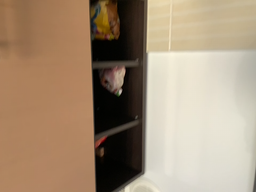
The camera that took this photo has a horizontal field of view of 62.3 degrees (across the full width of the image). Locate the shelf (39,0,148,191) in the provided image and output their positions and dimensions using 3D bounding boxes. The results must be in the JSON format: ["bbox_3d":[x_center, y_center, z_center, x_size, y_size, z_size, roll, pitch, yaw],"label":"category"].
[{"bbox_3d":[-0.130,-0.010,0.850,0.300,0.710,0.270,9,-167,39],"label":"shelf"}]
